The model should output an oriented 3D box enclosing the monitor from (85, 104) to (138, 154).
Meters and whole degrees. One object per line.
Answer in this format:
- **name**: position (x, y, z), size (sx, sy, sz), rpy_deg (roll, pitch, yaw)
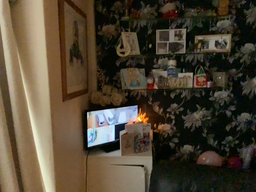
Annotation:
- **monitor**: position (-0.130, 0.280, 1.910), size (0.520, 0.360, 0.050), rpy_deg (-6, 10, -34)
